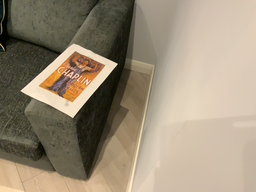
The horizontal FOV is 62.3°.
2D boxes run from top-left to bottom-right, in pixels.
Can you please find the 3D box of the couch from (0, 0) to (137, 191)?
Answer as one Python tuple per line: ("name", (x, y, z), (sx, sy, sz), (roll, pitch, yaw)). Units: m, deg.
("couch", (-0.890, -0.310, 1.130), (1.680, 0.790, 0.970), (15, 51, 0))
